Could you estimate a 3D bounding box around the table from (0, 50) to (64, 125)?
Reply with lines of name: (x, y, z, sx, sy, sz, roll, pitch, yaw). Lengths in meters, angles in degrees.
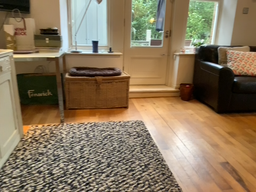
table: (-1.350, -0.170, 2.640, 0.940, 0.720, 0.940, -2, 17, -11)

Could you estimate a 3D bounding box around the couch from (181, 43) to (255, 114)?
couch: (1.760, -0.320, 3.140, 1.560, 0.830, 0.970, -1, 17, -9)
